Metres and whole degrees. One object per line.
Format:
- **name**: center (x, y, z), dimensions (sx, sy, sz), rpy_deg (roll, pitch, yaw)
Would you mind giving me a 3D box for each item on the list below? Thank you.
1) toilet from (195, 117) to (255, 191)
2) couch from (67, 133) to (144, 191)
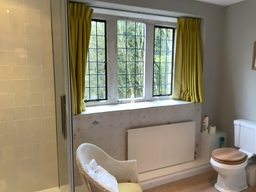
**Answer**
- **toilet**: center (1.330, 0.750, 2.730), dimensions (0.720, 0.810, 0.490), rpy_deg (-4, 10, -27)
- **couch**: center (-0.180, 0.850, 2.110), dimensions (0.630, 0.760, 0.660), rpy_deg (1, 9, 1)
